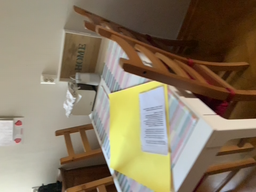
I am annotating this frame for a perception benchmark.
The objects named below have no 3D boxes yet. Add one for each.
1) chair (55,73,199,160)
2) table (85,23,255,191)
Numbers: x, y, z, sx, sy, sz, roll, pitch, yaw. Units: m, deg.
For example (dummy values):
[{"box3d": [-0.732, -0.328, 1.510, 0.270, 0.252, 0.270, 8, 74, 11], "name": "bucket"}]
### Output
[{"box3d": [-0.020, 0.160, 1.780, 0.430, 1.040, 0.470, 57, 136, 48], "name": "chair"}, {"box3d": [0.280, 0.130, 1.510, 1.220, 0.770, 0.810, 55, 135, 49], "name": "table"}]
